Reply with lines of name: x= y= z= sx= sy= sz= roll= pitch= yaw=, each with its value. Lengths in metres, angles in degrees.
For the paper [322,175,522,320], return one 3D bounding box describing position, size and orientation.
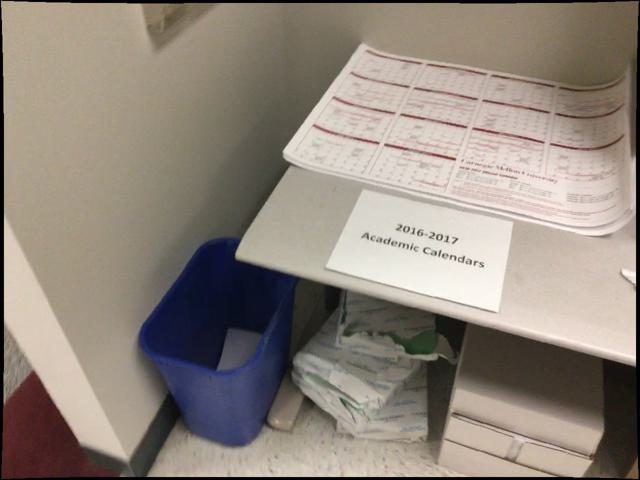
paper: x=0.180 y=0.000 z=0.990 sx=0.289 sy=0.020 sz=0.230 roll=14 pitch=51 yaw=15
